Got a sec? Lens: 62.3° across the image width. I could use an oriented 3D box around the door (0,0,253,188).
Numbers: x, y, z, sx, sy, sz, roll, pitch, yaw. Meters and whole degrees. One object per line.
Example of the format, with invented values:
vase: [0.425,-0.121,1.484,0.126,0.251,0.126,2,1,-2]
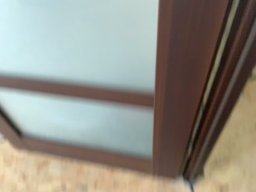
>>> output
door: [-0.260,-0.320,0.430,0.970,2.000,0.180,8,51,10]
